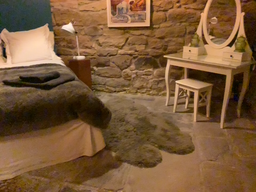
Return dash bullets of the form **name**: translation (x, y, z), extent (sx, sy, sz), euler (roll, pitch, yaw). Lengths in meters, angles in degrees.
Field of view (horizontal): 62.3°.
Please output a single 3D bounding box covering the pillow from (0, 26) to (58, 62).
- **pillow**: translation (-1.440, -0.780, 3.080), extent (0.680, 0.430, 0.510), euler (-10, 22, -24)
